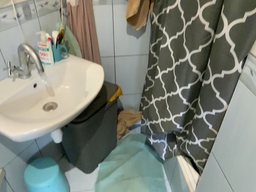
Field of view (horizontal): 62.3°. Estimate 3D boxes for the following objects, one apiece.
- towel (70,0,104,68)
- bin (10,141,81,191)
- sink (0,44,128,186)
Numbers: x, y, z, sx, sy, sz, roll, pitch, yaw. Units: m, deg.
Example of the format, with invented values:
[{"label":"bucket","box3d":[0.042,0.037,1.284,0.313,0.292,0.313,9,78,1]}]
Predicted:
[{"label":"towel","box3d":[-0.250,-0.410,1.310,0.150,0.460,0.110,-11,43,-13]},{"label":"bin","box3d":[-0.510,0.540,1.370,0.260,0.330,0.260,20,42,23]},{"label":"sink","box3d":[-0.360,0.020,1.090,0.430,0.250,0.670,21,42,23]}]
